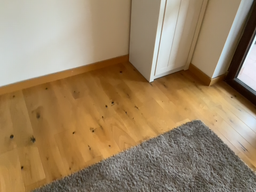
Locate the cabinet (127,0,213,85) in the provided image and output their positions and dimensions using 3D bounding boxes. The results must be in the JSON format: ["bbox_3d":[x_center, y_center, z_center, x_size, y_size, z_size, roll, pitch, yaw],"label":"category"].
[{"bbox_3d":[0.380,-1.020,1.670,0.540,1.930,0.450,-17,47,-21],"label":"cabinet"}]
